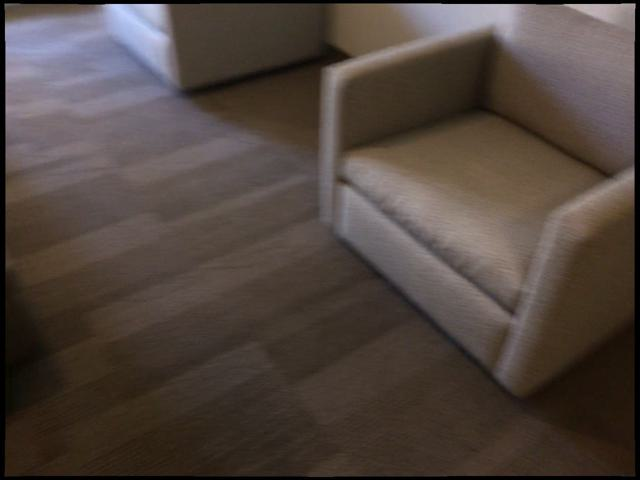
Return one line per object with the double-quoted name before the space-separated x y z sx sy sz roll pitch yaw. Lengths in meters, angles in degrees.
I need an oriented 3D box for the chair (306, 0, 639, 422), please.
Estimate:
"chair" 0.609 -0.220 1.760 0.939 0.741 0.900 -25 49 -27
